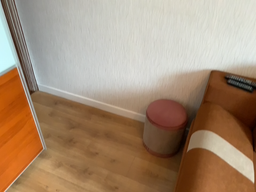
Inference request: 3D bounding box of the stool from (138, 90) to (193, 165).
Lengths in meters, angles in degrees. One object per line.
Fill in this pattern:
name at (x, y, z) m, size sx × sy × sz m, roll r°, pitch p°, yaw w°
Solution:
stool at (0.290, 0.240, 1.670) m, size 0.300 × 0.390 × 0.330 m, roll 17°, pitch 40°, yaw 17°
